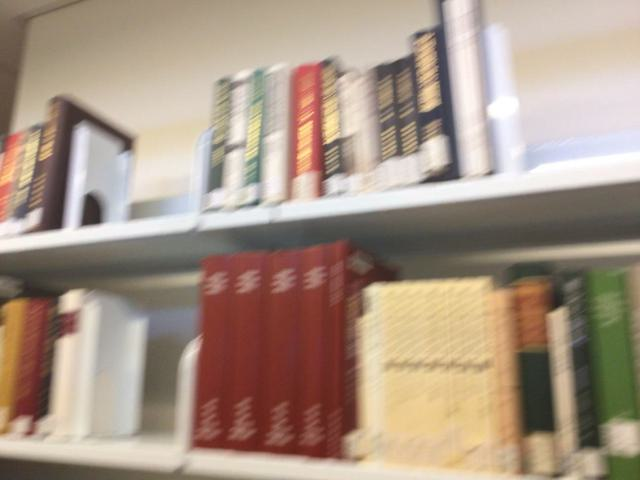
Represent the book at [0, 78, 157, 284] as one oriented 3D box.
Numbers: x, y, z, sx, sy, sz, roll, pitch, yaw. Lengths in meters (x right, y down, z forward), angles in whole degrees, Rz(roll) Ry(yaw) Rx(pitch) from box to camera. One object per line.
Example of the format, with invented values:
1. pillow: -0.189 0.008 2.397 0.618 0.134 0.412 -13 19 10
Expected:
1. book: -0.660 -0.080 1.150 0.620 0.300 0.220 -4 -14 23
